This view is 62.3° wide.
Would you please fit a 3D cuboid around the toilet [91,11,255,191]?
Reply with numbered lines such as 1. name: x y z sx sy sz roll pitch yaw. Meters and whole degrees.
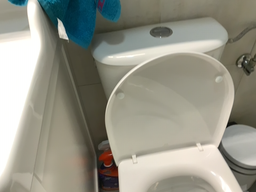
1. toilet: 0.140 0.260 0.670 0.360 0.790 0.580 -8 44 -5
